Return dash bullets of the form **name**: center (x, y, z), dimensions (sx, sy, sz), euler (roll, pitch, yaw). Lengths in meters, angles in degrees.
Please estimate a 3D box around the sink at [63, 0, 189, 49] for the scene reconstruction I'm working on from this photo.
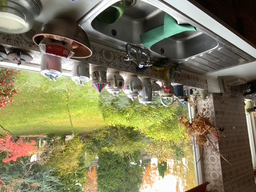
- **sink**: center (-0.010, -0.450, 1.070), dimensions (0.480, 0.200, 0.400), euler (6, 167, -42)

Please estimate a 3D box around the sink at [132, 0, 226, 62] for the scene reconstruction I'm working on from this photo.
- **sink**: center (0.330, -0.410, 1.380), dimensions (0.440, 0.200, 0.400), euler (6, 167, -42)
